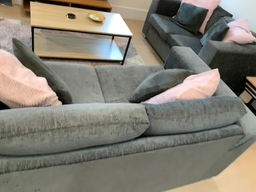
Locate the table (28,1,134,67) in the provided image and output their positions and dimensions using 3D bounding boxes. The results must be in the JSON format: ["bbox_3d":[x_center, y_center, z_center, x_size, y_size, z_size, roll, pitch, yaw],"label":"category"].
[{"bbox_3d":[-0.540,-0.670,2.390,1.040,0.430,0.500,-2,44,-25],"label":"table"}]

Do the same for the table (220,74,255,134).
[{"bbox_3d":[1.460,0.080,2.370,0.470,0.460,0.450,-2,44,-25],"label":"table"}]
